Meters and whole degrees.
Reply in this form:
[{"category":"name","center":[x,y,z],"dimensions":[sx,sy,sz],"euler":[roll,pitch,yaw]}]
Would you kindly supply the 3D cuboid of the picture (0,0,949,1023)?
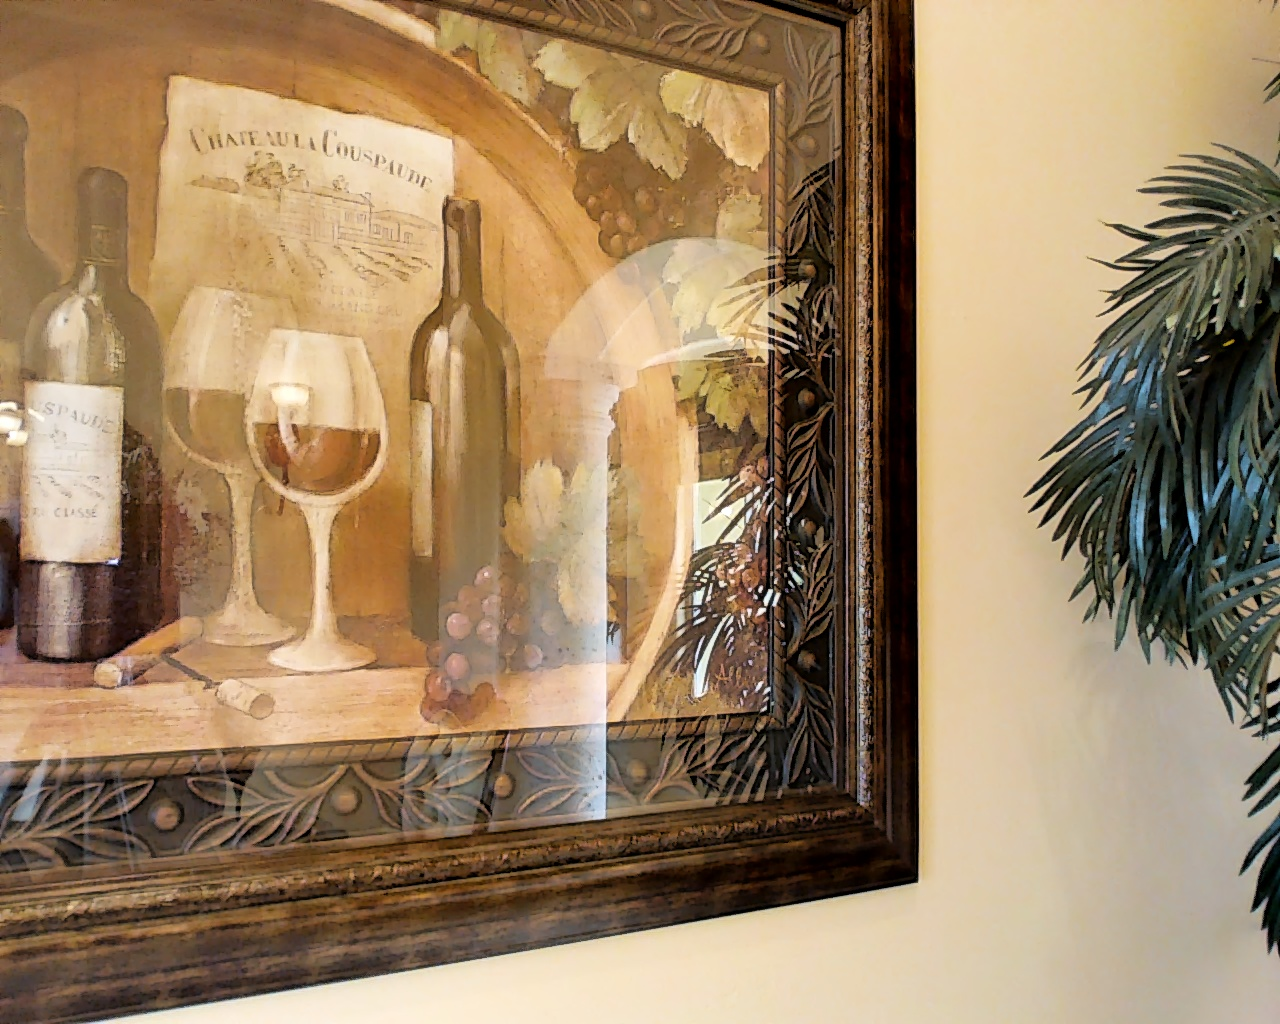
[{"category":"picture","center":[-0.270,-0.130,0.790],"dimensions":[1.290,1.010,0.050],"euler":[3,-4,-28]}]
